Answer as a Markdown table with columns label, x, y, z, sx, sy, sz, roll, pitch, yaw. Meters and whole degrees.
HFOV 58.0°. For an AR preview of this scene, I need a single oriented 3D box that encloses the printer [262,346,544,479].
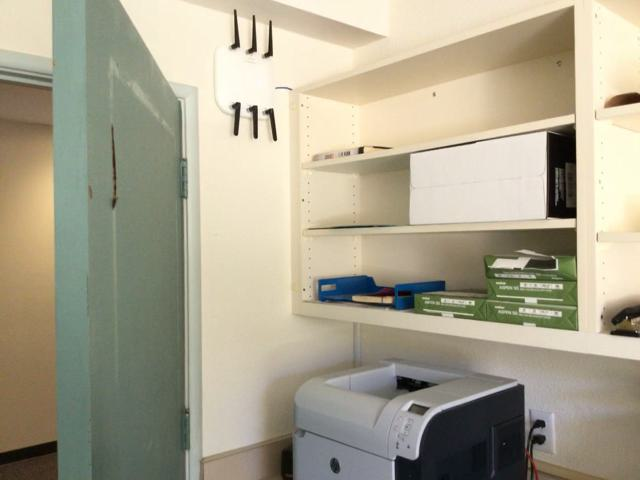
| label | x | y | z | sx | sy | sz | roll | pitch | yaw |
| --- | --- | --- | --- | --- | --- | --- | --- | --- | --- |
| printer | 0.200 | 0.540 | 1.470 | 0.490 | 0.410 | 0.510 | 0 | 0 | -39 |
